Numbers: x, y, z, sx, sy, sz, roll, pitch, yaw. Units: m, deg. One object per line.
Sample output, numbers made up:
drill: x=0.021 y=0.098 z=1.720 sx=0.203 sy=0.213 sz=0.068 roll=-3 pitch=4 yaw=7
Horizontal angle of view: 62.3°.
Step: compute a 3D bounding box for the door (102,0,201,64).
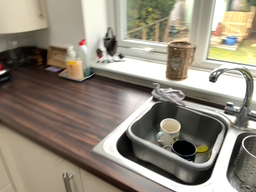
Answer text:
door: x=0.120 y=-0.710 z=1.140 sx=0.550 sy=0.980 sz=0.160 roll=15 pitch=32 yaw=26
